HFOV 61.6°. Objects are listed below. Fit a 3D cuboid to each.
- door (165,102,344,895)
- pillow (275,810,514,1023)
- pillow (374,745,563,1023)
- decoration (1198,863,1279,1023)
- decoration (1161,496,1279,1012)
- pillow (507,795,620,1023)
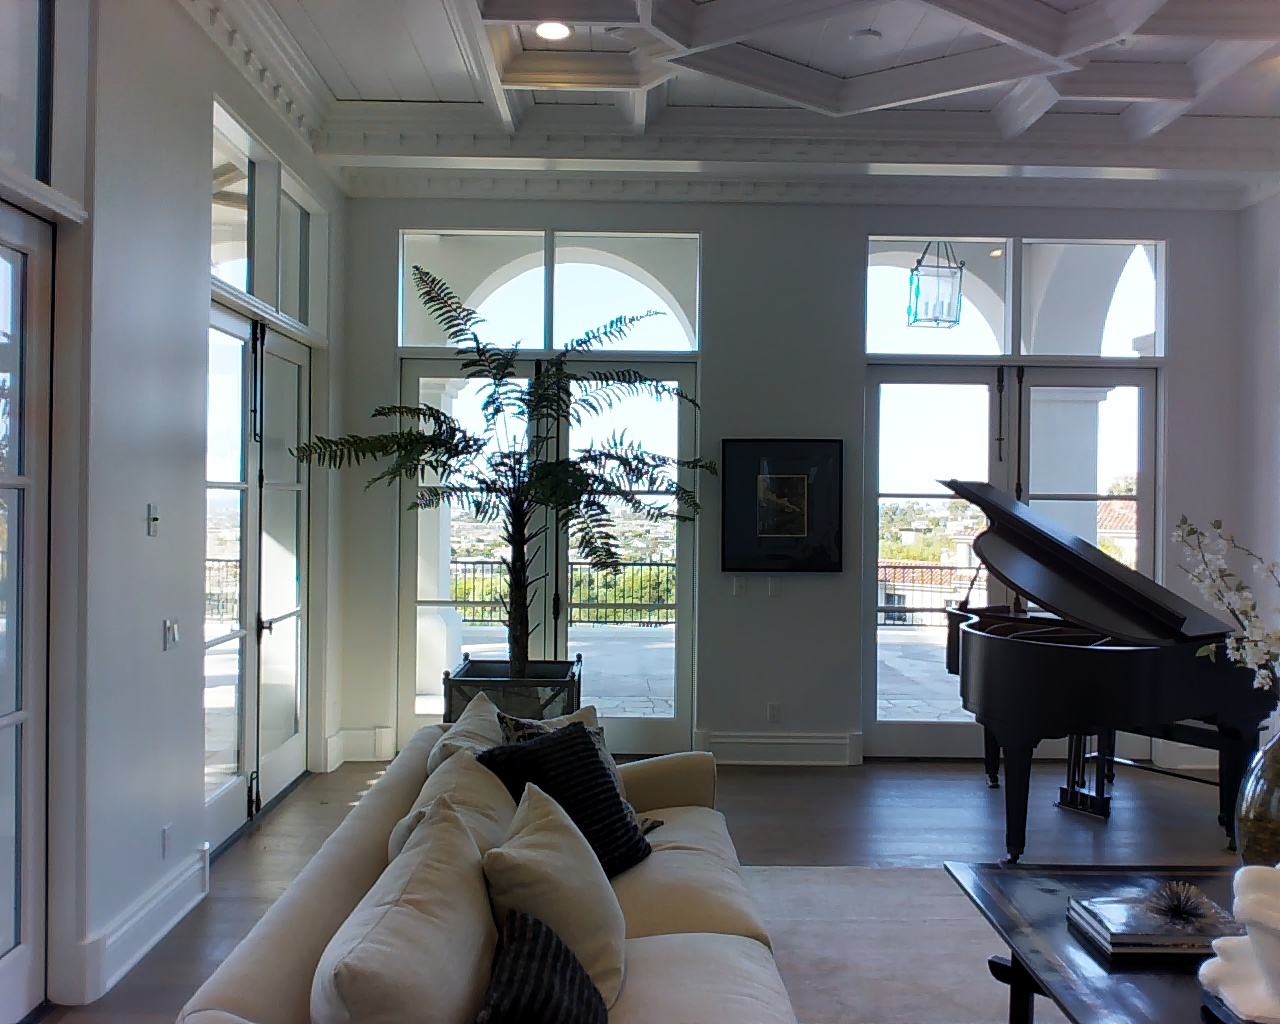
[{"bbox_3d":[-1.809,-0.050,5.250,0.190,3.211,1.810,1,-1,-1],"label":"door"},{"bbox_3d":[-0.430,0.890,2.060,0.290,0.450,0.800,1,-3,-1],"label":"pillow"},{"bbox_3d":[-0.410,0.920,2.760,0.380,0.490,0.700,1,-1,-1],"label":"pillow"},{"bbox_3d":[1.380,0.940,2.270,0.280,0.320,0.220,1,-1,-1],"label":"decoration"},{"bbox_3d":[1.669,0.540,2.580,0.490,1.140,0.690,1,-1,0],"label":"decoration"},{"bbox_3d":[-0.160,0.930,2.480,0.220,0.450,0.480,1,-26,0],"label":"pillow"}]
